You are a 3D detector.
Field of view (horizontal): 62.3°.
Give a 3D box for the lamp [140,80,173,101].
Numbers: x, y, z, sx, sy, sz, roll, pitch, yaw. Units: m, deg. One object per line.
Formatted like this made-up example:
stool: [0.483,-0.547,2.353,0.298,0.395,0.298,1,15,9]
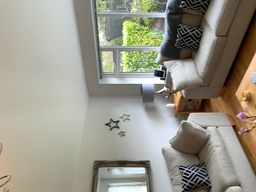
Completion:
lamp: [0.590,-0.100,4.470,0.360,0.620,0.390,110,161,-83]
